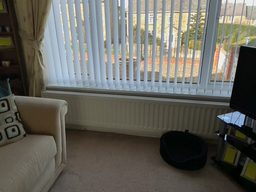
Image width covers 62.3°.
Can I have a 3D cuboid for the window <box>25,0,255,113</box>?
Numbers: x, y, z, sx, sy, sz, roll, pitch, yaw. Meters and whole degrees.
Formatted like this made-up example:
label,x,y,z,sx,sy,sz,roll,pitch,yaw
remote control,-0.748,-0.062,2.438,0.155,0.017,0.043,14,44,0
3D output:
label,x,y,z,sx,sy,sz,roll,pitch,yaw
window,0.200,-0.760,2.100,2.490,1.790,0.180,4,23,9
